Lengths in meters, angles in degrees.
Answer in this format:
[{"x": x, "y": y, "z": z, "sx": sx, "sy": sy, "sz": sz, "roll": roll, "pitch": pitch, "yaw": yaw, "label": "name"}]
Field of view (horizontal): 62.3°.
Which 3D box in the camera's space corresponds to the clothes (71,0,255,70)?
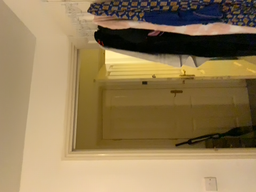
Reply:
[{"x": 0.420, "y": -0.340, "z": 1.200, "sx": 0.580, "sy": 1.320, "sz": 0.160, "roll": 81, "pitch": -172, "yaw": -77, "label": "clothes"}]
